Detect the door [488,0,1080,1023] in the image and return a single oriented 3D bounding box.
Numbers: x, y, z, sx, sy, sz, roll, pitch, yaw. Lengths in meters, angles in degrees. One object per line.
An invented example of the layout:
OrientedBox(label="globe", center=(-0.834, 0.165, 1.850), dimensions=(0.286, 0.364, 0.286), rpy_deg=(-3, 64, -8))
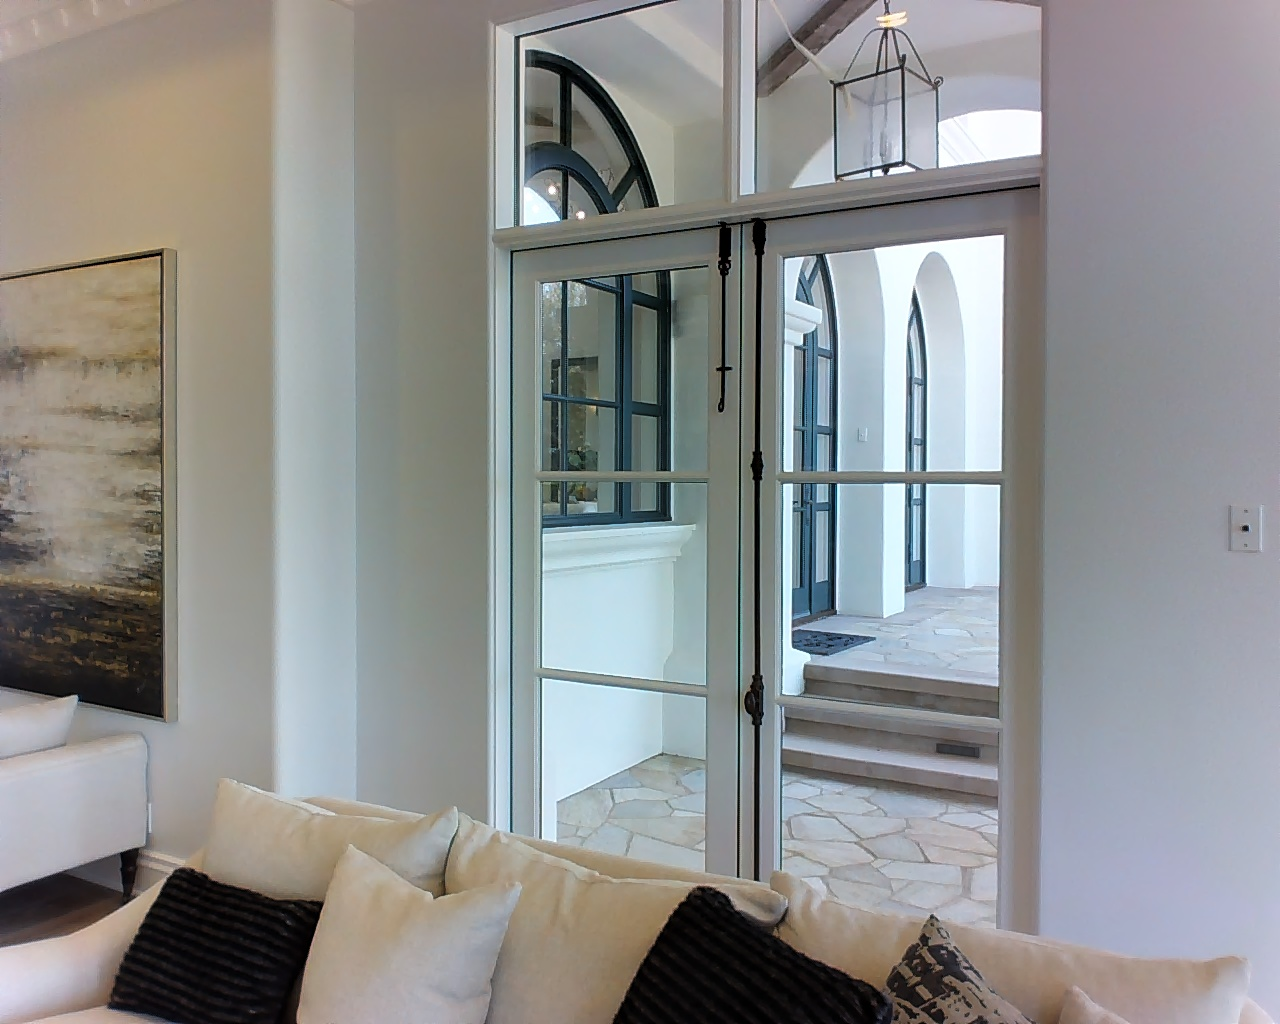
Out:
OrientedBox(label="door", center=(0.340, -0.060, 3.390), dimensions=(1.850, 3.251, 0.200), rpy_deg=(2, 2, 30))

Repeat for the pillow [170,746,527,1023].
OrientedBox(label="pillow", center=(-0.680, 0.860, 2.450), dimensions=(0.800, 0.450, 0.290), rpy_deg=(5, 4, 30))

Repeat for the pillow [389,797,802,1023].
OrientedBox(label="pillow", center=(-0.090, 0.900, 2.080), dimensions=(0.700, 0.490, 0.380), rpy_deg=(2, 2, 30))

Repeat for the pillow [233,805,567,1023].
OrientedBox(label="pillow", center=(-0.460, 0.900, 2.010), dimensions=(0.480, 0.450, 0.220), rpy_deg=(30, 15, 25))

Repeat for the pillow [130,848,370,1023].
OrientedBox(label="pillow", center=(-0.830, 0.950, 2.270), dimensions=(0.470, 0.260, 0.190), rpy_deg=(16, 9, 29))
